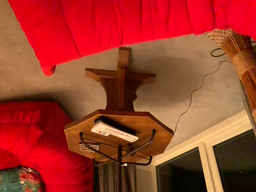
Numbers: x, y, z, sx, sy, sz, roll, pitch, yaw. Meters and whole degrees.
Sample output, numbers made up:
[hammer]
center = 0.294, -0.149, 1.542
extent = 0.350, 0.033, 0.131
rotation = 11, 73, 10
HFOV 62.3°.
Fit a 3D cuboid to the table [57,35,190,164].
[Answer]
[table]
center = -0.040, 0.040, 1.180
extent = 0.530, 0.490, 0.480
rotation = 4, 143, -6
